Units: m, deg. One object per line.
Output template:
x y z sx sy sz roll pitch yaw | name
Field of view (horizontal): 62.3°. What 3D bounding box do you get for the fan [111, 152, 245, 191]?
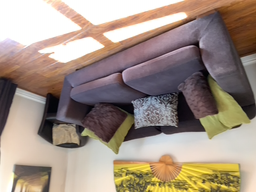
0.420 1.100 2.320 1.560 0.830 0.090 -16 153 35 | fan
